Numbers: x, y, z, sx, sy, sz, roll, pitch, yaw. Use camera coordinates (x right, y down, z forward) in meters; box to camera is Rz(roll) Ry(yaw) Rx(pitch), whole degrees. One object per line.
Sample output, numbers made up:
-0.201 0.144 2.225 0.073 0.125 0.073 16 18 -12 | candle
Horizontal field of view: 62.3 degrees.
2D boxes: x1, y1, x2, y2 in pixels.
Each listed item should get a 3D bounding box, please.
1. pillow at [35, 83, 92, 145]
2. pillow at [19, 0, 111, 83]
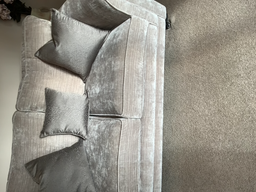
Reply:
-0.490 0.150 1.670 0.160 0.330 0.410 6 77 26 | pillow
-0.450 -0.390 1.600 0.480 0.450 0.170 -46 60 9 | pillow
